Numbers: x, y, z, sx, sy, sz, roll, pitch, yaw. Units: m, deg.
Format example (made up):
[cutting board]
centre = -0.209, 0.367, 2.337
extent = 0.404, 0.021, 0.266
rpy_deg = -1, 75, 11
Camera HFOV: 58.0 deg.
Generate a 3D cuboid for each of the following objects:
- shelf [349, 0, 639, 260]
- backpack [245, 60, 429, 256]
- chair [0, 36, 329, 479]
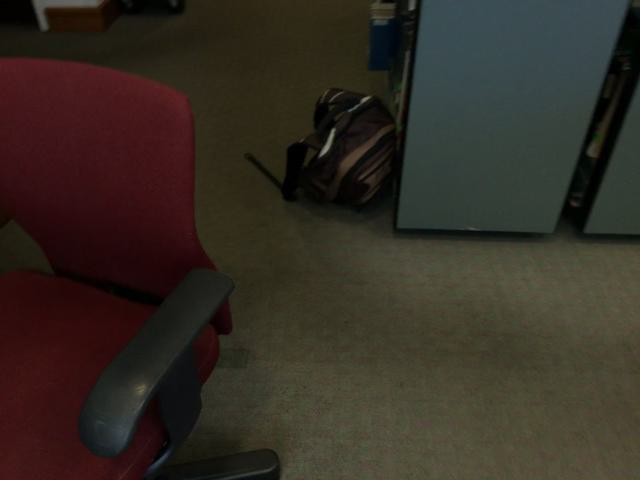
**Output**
[shelf]
centre = 0.520, -1.100, 1.790
extent = 0.840, 1.940, 1.280
rpy_deg = -1, 37, 6
[backpack]
centre = 0.060, -0.290, 1.960
extent = 0.470, 0.440, 0.360
rpy_deg = -19, 39, -18
[chair]
centre = -0.410, 0.230, 0.990
extent = 0.620, 0.920, 0.650
rpy_deg = 9, 39, 18
